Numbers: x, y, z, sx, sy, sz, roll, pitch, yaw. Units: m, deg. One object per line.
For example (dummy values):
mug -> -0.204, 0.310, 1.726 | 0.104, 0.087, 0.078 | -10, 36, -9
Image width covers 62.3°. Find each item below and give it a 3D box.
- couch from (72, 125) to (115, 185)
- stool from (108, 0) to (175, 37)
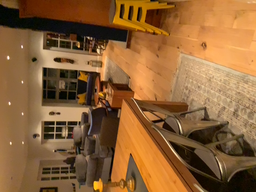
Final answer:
couch -> -1.010, 1.570, 5.840 | 1.120, 0.910, 1.120 | -127, 43, -63
stool -> 0.170, -1.130, 2.970 | 0.390, 0.790, 0.420 | -124, 41, -61
